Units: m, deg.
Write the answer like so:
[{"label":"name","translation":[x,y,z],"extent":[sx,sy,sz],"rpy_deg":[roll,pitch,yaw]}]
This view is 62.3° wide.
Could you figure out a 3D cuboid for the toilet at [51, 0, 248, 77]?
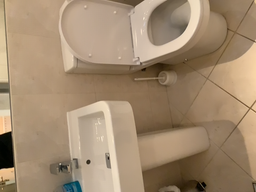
[{"label":"toilet","translation":[0.120,-0.390,1.200],"extent":[0.650,0.860,0.390],"rpy_deg":[-16,78,50]}]
